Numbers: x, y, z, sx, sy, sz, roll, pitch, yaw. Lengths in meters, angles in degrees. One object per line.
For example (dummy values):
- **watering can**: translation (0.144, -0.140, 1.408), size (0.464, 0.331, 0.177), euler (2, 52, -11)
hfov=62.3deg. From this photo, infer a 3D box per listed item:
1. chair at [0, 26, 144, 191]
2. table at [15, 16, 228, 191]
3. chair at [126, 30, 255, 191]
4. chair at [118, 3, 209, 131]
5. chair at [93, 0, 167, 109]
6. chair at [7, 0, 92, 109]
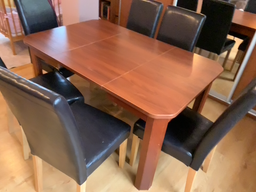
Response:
- **chair**: translation (-0.310, 0.210, 1.280), size (0.470, 1.010, 0.600), euler (22, 38, 19)
- **table**: translation (-0.100, -0.070, 1.910), size (1.420, 0.770, 0.960), euler (30, 42, 28)
- **chair**: translation (0.410, 0.180, 1.450), size (0.580, 1.010, 0.470), euler (28, 41, 26)
- **chair**: translation (0.300, -0.280, 2.050), size (0.420, 1.010, 0.600), euler (32, 43, 30)
- **chair**: translation (-0.010, -0.460, 2.250), size (0.390, 1.000, 0.590), euler (32, 43, 30)
- **chair**: translation (-0.740, -0.480, 2.170), size (0.600, 1.000, 0.430), euler (24, 39, 21)
